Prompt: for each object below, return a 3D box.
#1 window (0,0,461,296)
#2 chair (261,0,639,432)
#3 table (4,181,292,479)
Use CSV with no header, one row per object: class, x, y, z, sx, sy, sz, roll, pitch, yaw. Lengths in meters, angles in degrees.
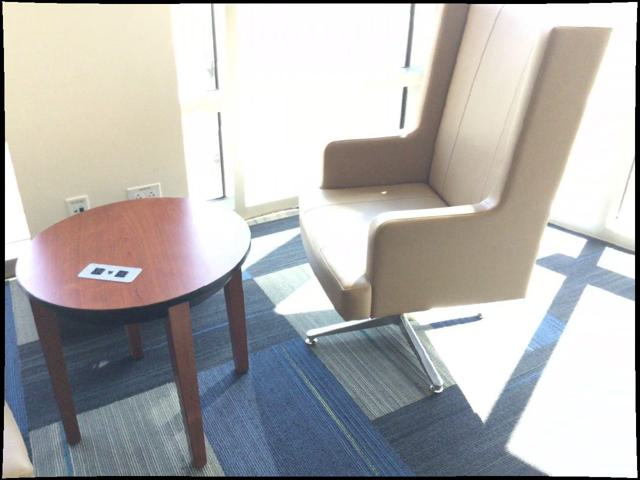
window,-0.977,-0.582,2.390,3.743,1.433,0.300,-16,33,-26
chair,0.299,-0.170,1.900,0.818,1.162,0.830,-7,30,-11
table,-0.519,0.261,1.750,0.629,0.571,0.660,-15,32,-24
